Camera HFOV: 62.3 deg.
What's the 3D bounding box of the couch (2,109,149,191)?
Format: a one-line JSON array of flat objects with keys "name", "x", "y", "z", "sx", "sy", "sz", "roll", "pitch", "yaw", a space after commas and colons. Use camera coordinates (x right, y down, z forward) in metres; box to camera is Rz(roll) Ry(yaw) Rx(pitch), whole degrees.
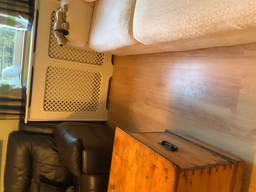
[{"name": "couch", "x": -0.610, "y": 1.040, "z": 1.960, "sx": 0.980, "sy": 0.960, "sz": 1.610, "roll": 21, "pitch": 104, "yaw": 58}]
